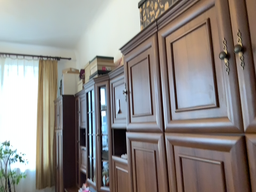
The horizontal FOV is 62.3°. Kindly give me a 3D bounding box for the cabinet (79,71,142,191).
[{"bbox_3d":[-0.280,0.590,2.720,0.450,1.620,0.920,1,-8,-28],"label":"cabinet"}]
